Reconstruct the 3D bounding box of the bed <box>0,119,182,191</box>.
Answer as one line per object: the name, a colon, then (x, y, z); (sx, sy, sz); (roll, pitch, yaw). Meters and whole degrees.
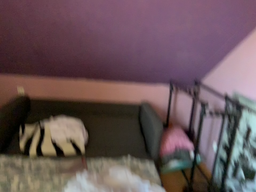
bed: (-0.490, 0.730, 1.880); (1.700, 0.280, 1.960); (3, 16, -8)
